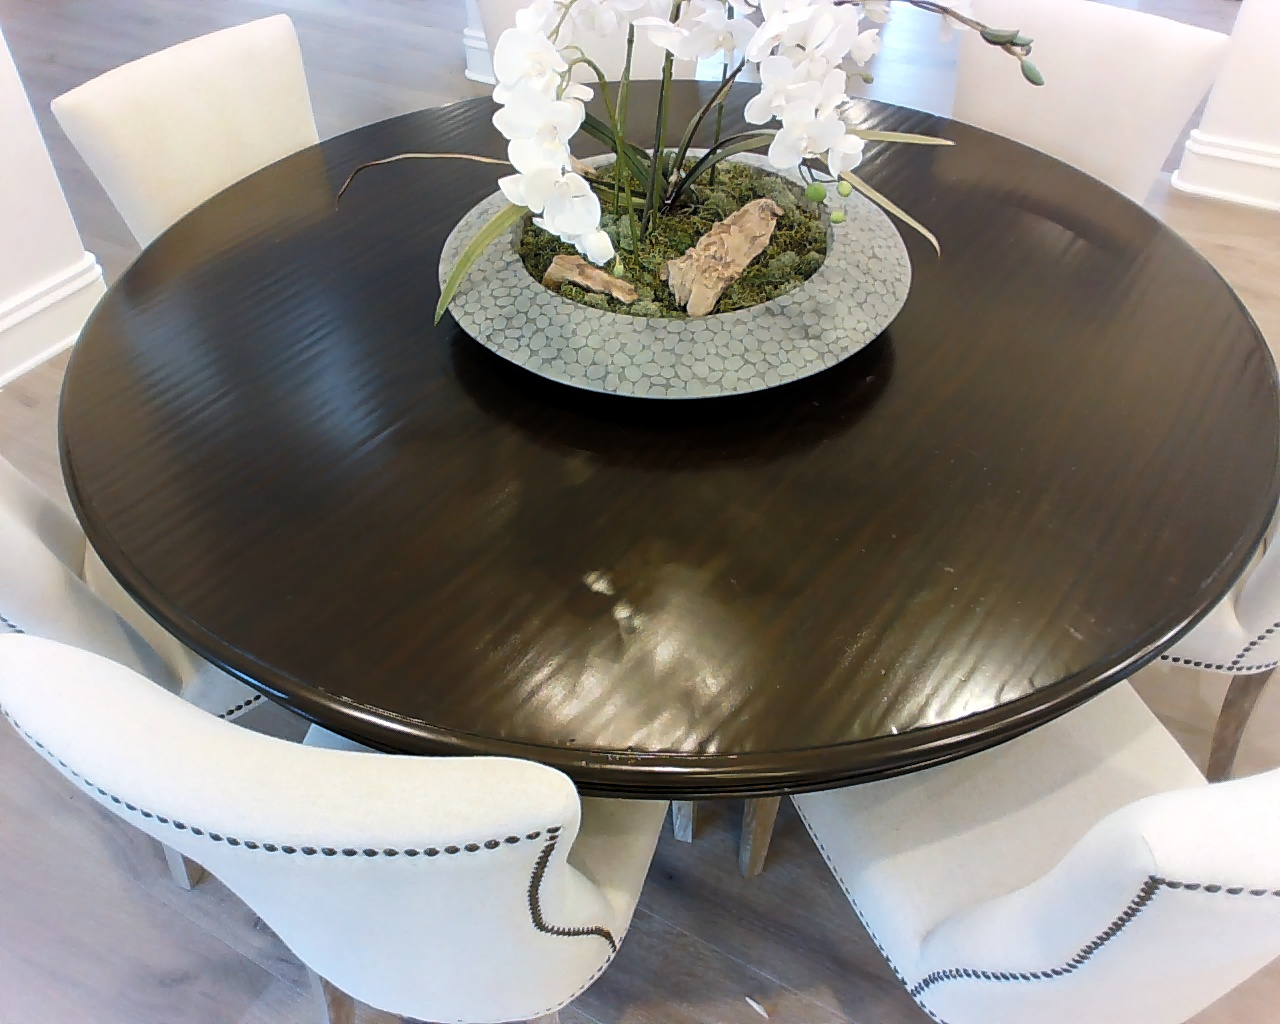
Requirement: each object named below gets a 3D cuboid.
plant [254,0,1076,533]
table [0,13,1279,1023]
[{"bbox_3d":[0.050,-0.560,1.470,0.720,0.620,0.780,31,51,30],"label":"plant"},{"bbox_3d":[0.050,-0.070,1.950,1.870,0.790,1.820,-27,48,-27],"label":"table"}]
